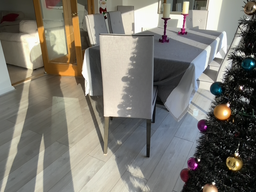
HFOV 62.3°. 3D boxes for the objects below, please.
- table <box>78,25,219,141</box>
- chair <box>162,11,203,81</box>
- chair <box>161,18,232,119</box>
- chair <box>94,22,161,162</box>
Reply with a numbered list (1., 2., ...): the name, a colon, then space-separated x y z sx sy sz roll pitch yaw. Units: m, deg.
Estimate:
1. table: 0.450 -0.420 2.920 1.110 0.780 2.030 14 29 25
2. chair: 0.920 -0.870 3.610 0.450 1.020 0.590 11 28 21
3. chair: 0.770 -0.340 2.490 0.590 1.020 0.490 10 27 18
4. chair: 0.010 -0.060 1.870 0.430 1.050 0.630 2 26 3
